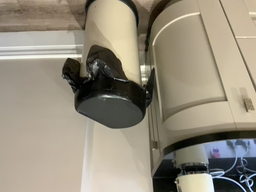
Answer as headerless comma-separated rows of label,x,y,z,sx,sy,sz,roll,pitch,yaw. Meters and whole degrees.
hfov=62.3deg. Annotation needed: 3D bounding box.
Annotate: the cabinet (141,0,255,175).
cabinet,0.700,-0.110,1.170,1.150,0.890,0.580,-1,149,-3
